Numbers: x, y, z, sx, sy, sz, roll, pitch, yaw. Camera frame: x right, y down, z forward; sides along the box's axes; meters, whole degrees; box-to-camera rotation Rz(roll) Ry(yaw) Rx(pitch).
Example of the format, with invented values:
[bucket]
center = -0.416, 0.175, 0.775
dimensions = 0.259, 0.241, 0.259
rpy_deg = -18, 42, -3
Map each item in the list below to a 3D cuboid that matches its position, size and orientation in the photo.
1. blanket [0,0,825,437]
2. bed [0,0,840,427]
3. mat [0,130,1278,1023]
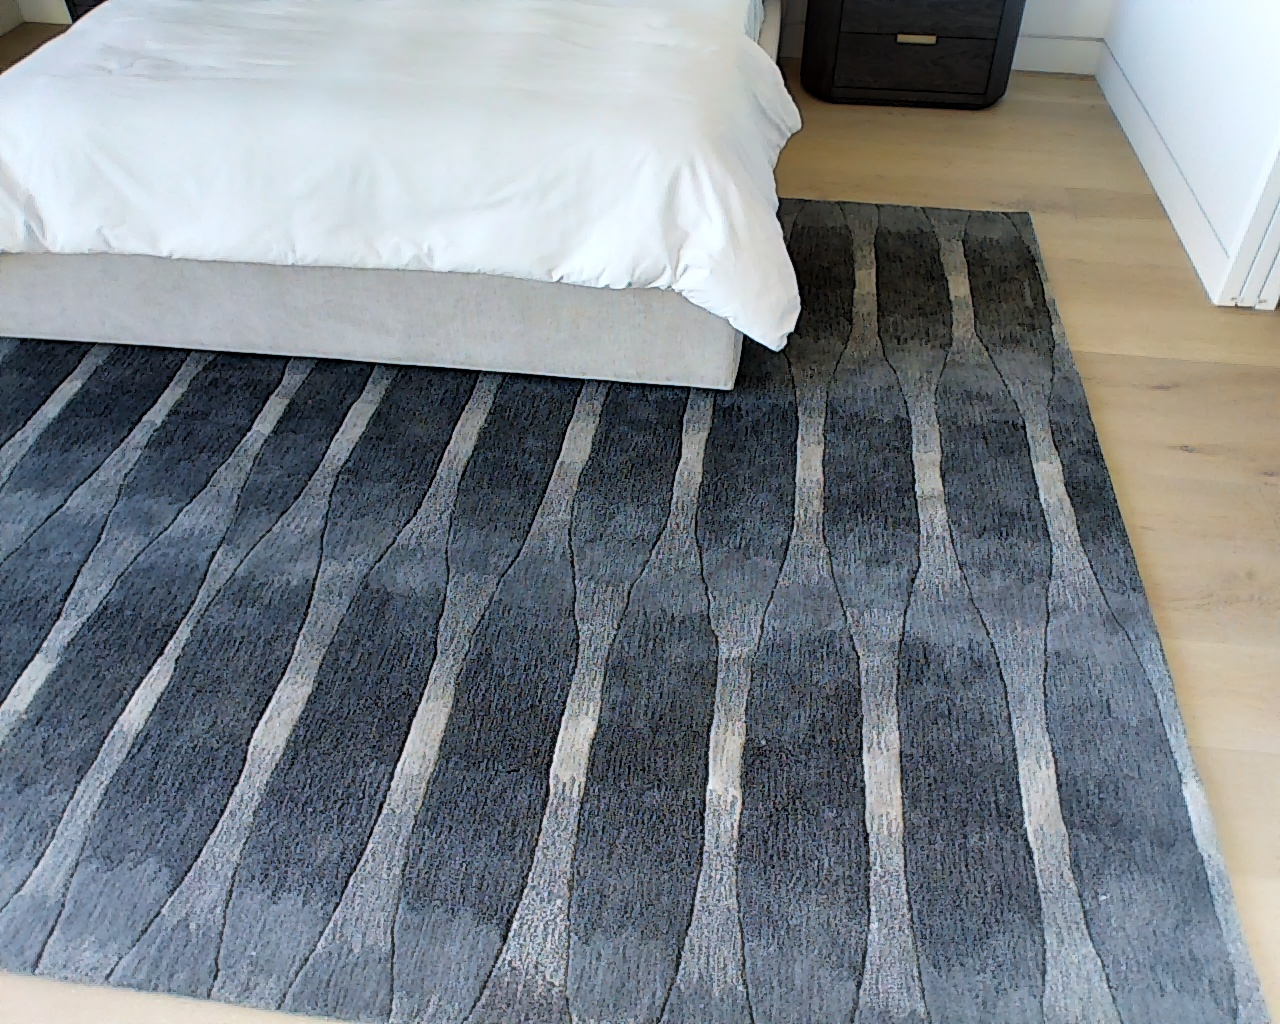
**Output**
[blanket]
center = -0.750, -0.920, 2.840
dimensions = 2.370, 0.700, 1.120
rpy_deg = 5, 42, 6
[bed]
center = -0.630, -1.590, 3.290
dimensions = 2.340, 1.110, 2.630
rpy_deg = 5, 42, 5
[mat]
center = -0.770, -0.260, 2.620
dimensions = 3.680, 0.040, 2.810
rpy_deg = 5, 42, 5
